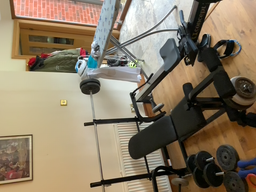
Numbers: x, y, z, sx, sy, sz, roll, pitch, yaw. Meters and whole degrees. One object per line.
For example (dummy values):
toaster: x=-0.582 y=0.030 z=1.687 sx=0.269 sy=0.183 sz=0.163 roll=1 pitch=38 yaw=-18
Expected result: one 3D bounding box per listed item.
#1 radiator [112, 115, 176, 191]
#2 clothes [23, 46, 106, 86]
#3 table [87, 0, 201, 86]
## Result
radiator: x=0.250 y=1.060 z=2.570 sx=0.100 sy=0.630 sz=1.710 roll=126 pitch=138 yaw=-55
clothes: x=-1.040 y=-0.490 z=3.480 sx=0.620 sy=1.180 sz=0.520 roll=-143 pitch=56 yaw=-63
table: x=0.070 y=-0.710 z=2.830 sx=1.550 sy=0.940 sz=0.360 roll=122 pitch=141 yaw=-53
